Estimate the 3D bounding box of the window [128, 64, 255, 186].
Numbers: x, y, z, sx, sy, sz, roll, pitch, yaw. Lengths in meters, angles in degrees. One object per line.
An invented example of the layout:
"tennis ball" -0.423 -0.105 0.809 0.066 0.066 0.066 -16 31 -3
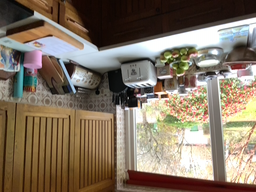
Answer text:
"window" 1.250 0.210 1.670 2.740 0.990 0.070 -5 171 26
